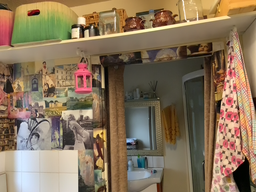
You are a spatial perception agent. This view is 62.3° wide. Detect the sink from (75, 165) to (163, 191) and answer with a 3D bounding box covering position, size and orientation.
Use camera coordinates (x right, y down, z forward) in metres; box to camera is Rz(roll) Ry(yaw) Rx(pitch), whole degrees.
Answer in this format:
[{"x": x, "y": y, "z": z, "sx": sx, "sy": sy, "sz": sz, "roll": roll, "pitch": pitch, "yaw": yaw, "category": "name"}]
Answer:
[{"x": -0.090, "y": 1.070, "z": 2.740, "sx": 1.010, "sy": 0.190, "sz": 0.560, "roll": -4, "pitch": -5, "yaw": 15, "category": "sink"}]
